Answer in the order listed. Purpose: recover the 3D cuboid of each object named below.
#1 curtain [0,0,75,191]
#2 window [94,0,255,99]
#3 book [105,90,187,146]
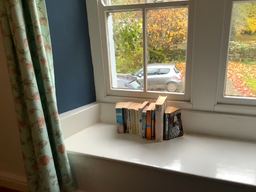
[{"bbox_3d":[-0.520,-0.250,0.960,0.270,1.640,0.190,4,20,20],"label":"curtain"},{"bbox_3d":[0.420,-0.550,1.160,1.310,1.120,0.100,4,20,20],"label":"window"},{"bbox_3d":[0.120,0.120,1.340,0.450,0.230,0.230,4,20,21],"label":"book"}]
